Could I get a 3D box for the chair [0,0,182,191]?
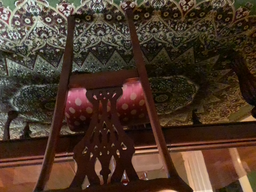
[{"bbox_3d":[-0.150,0.070,1.120,0.590,0.960,0.570,-8,146,2],"label":"chair"}]
